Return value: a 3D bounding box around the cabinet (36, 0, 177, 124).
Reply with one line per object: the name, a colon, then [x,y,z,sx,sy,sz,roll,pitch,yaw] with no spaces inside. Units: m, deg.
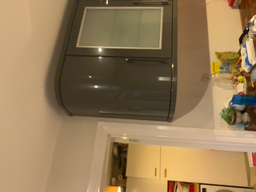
cabinet: [-0.050,-0.690,1.790,0.380,0.860,1.750,77,-163,-66]
